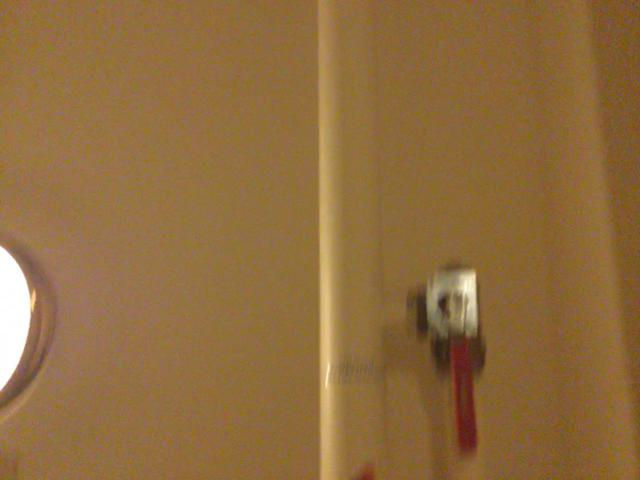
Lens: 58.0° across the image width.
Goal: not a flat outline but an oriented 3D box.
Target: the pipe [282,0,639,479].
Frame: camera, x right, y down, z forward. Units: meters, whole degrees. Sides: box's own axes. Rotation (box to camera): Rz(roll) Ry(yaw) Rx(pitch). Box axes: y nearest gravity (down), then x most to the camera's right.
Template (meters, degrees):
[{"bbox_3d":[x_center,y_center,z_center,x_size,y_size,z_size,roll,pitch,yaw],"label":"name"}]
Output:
[{"bbox_3d":[0.220,0.480,1.040,0.530,2.940,0.360,3,-9,-11],"label":"pipe"}]
